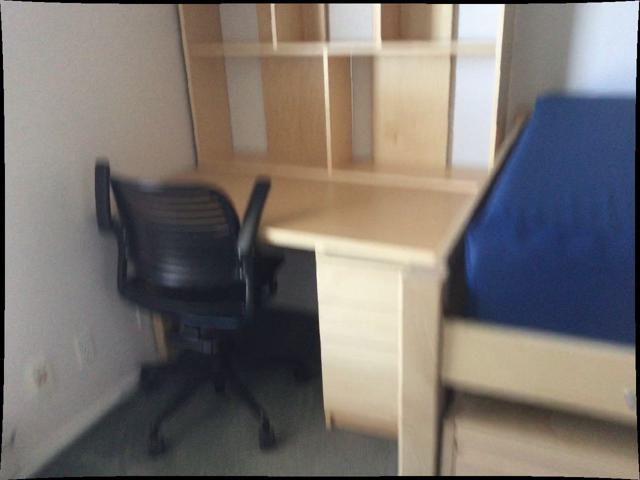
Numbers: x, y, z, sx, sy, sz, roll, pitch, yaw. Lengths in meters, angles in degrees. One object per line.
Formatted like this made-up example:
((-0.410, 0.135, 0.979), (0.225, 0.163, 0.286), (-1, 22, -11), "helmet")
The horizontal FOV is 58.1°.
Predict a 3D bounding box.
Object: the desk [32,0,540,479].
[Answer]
((-0.020, -0.170, 2.040), (1.338, 1.552, 0.890), (7, 23, 22), "desk")
